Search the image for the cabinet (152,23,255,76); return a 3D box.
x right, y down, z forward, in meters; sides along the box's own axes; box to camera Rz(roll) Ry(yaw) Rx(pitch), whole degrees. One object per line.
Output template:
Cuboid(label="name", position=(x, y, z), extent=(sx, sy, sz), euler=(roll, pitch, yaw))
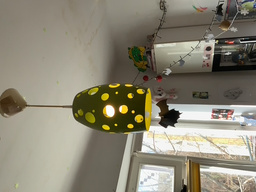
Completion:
Cuboid(label="cabinet", position=(0.930, -0.490, 2.320), extent=(0.290, 1.280, 0.470), euler=(-76, -19, -44))
